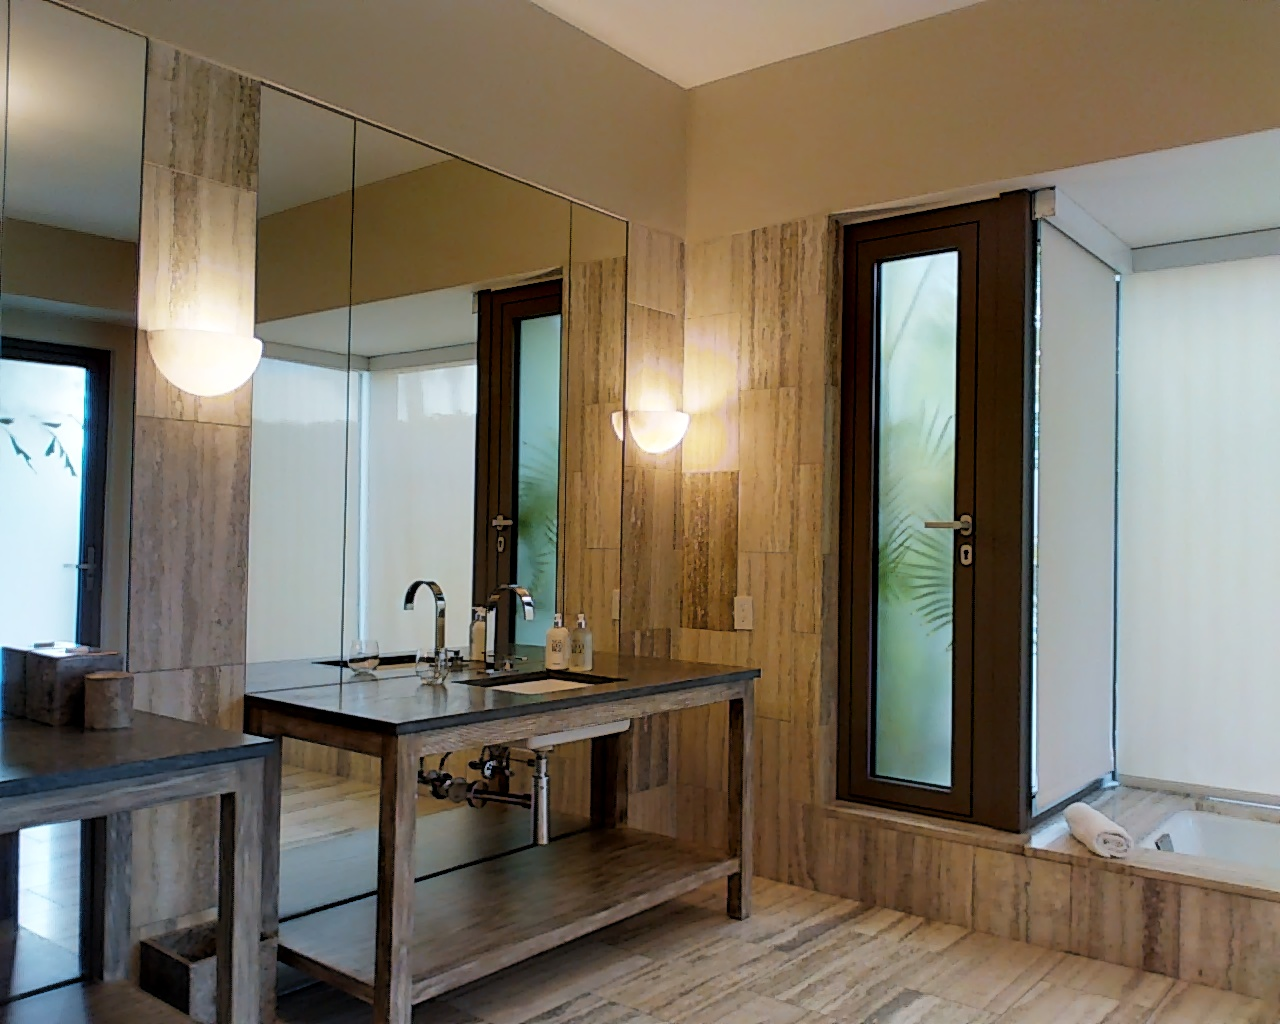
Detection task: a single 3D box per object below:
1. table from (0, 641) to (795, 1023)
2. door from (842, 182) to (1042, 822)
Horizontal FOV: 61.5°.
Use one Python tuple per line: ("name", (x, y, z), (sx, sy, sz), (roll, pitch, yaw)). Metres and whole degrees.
("table", (-0.950, 0.860, 2.600), (0.930, 0.790, 3.580), (0, -1, 38))
("door", (1.040, -0.040, 3.760), (0.670, 2.100, 0.050), (0, -1, 38))
